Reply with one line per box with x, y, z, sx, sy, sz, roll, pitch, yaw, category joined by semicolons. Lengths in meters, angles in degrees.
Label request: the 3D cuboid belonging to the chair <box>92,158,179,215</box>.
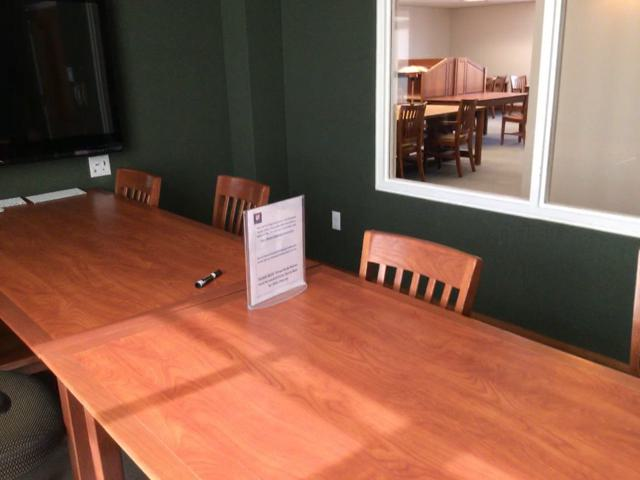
-0.970;-0.290;3.000;0.160;0.180;0.640;-16;23;-39;chair

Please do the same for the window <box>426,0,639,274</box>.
1.140;-0.520;2.270;0.230;1.210;1.600;-16;23;-39;window

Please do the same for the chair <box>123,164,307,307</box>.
-0.470;-0.060;2.600;0.540;0.420;0.610;-16;23;-39;chair
